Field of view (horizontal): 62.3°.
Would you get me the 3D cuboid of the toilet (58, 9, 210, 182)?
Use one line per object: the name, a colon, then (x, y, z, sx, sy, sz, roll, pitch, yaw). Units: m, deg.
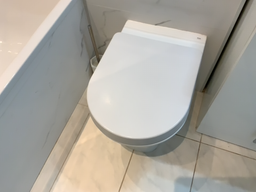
toilet: (0.060, 0.010, 0.960, 0.390, 0.450, 0.550, 17, 62, 11)
